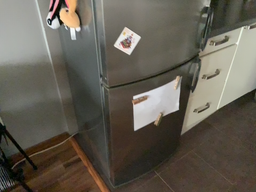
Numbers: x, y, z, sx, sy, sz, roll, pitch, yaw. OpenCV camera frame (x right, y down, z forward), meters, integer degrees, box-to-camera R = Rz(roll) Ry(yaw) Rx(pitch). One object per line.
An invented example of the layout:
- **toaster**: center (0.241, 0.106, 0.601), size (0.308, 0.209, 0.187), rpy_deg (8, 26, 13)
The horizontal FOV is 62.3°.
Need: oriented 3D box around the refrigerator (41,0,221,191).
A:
- **refrigerator**: center (-0.020, -0.360, 1.070), size (0.590, 1.750, 0.630), rpy_deg (-23, 43, -28)
